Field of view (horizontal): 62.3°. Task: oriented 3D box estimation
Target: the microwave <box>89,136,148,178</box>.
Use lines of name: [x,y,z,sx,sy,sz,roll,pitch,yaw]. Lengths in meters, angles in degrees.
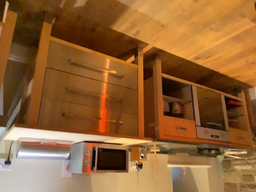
microwave: [-0.090,0.660,2.270,0.580,0.380,0.230,13,157,-35]
